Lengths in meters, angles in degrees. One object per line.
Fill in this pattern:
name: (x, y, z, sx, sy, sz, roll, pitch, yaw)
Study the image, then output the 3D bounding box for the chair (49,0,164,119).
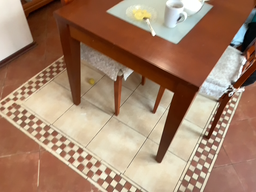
chair: (-0.130, -0.370, 1.390, 0.500, 0.950, 0.400, 30, 54, 18)
